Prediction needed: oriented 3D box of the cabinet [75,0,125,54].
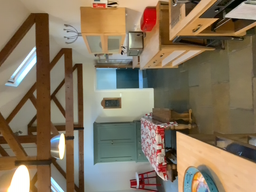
[{"bbox_3d":[-0.450,-1.070,3.560,1.340,0.680,0.440,175,94,-84],"label":"cabinet"}]
